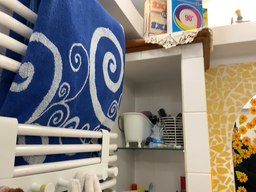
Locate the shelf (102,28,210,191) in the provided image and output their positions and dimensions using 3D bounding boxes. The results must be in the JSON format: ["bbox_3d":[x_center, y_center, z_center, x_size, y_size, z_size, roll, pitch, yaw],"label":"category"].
[{"bbox_3d":[0.140,0.350,0.890,0.370,1.130,0.370,-3,-13,19],"label":"shelf"}]

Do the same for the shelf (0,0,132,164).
[{"bbox_3d":[-0.140,-0.060,0.550,0.160,0.410,0.400,-4,-13,23],"label":"shelf"}]
